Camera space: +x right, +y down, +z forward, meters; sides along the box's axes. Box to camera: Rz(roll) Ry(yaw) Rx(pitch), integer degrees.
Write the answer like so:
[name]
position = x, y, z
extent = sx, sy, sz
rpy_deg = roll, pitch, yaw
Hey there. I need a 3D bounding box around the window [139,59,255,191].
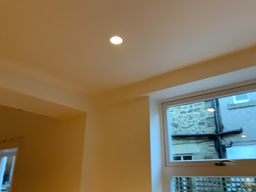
[window]
position = 0.700, 0.590, 1.850
extent = 1.250, 1.560, 0.260
rpy_deg = -17, -27, 36
